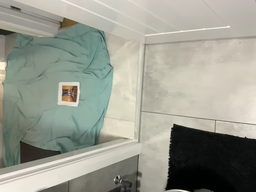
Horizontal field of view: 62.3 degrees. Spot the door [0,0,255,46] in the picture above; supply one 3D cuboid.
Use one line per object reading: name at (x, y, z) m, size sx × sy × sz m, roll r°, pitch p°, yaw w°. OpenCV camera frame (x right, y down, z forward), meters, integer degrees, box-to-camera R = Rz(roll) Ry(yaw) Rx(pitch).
door at (-0.260, -0.330, 0.450) m, size 0.790 × 1.990 × 0.030 m, roll 6°, pitch 94°, yaw 37°
